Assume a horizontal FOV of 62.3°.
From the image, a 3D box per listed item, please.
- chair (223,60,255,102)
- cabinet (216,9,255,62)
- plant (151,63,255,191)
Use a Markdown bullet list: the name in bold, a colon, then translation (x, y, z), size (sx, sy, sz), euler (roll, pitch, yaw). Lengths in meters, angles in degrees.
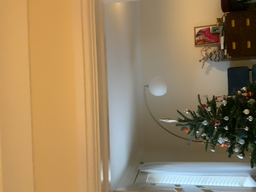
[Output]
- **chair**: translation (2.010, -0.220, 3.420), size (0.760, 0.710, 0.600), euler (0, -92, -79)
- **cabinet**: translation (1.980, -1.020, 3.640), size (0.430, 0.780, 0.760), euler (-7, -85, -79)
- **plant**: translation (1.240, 0.280, 2.340), size (1.000, 1.850, 1.110), euler (9, -101, -79)
